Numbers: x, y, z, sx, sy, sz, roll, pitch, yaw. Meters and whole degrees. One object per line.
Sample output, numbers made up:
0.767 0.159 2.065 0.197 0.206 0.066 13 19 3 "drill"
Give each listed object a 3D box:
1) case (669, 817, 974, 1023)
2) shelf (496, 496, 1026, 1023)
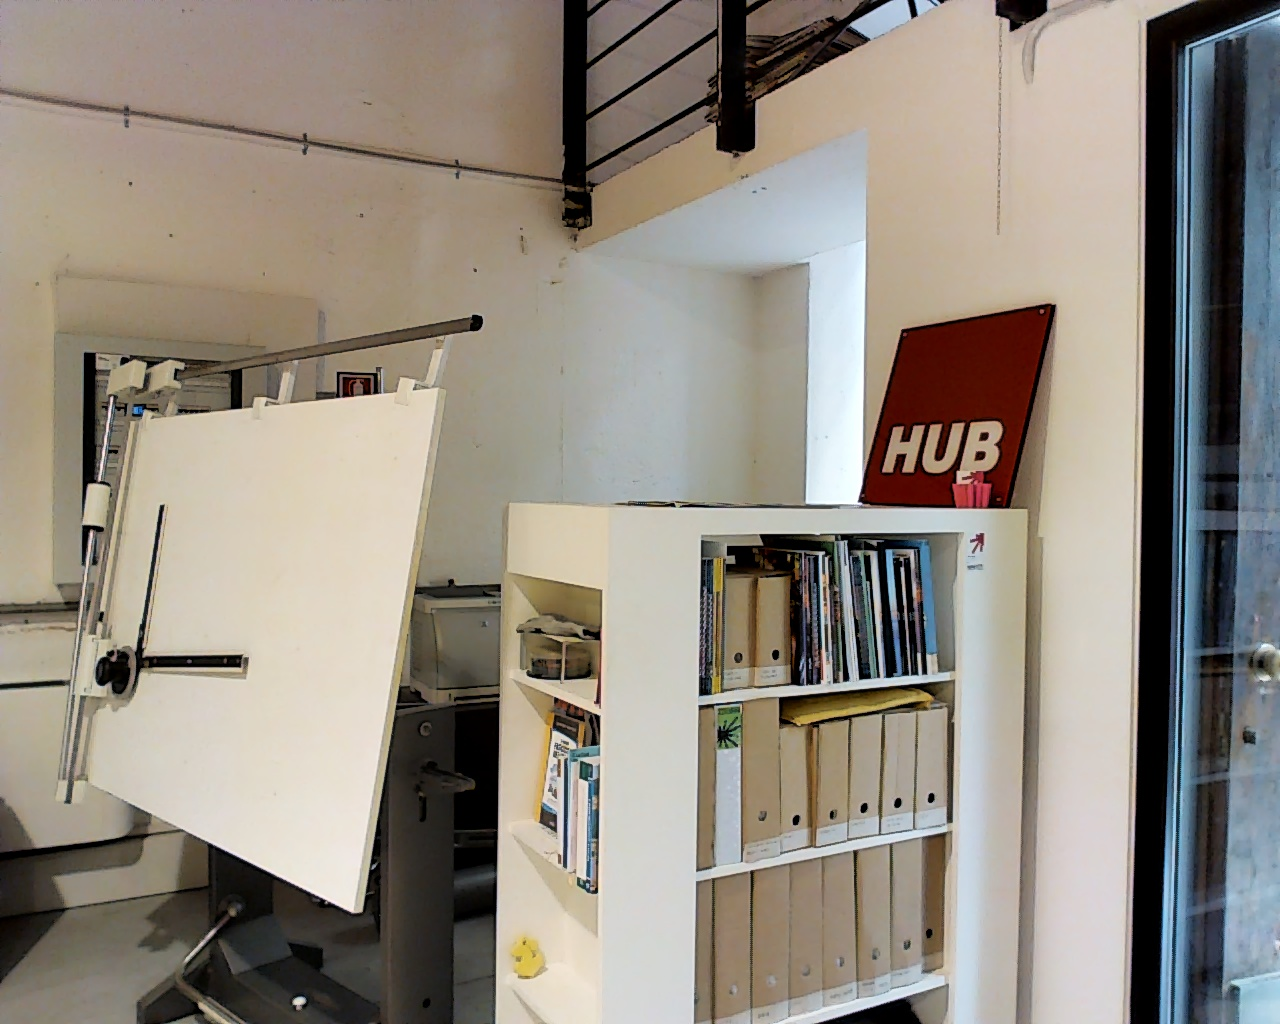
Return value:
0.400 0.860 2.330 0.650 0.260 0.210 0 1 -27 "case"
0.280 0.700 2.430 1.070 1.460 0.530 0 1 -30 "shelf"
